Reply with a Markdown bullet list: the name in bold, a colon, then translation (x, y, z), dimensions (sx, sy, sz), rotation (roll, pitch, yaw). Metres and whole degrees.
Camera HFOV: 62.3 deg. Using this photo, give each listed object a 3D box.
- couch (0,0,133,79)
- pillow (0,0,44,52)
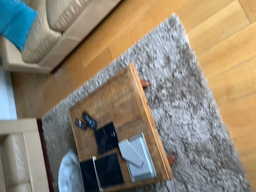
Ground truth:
- **couch**: translation (-0.640, -1.080, 1.830), dimensions (2.210, 0.820, 0.950), rotation (-30, 71, 39)
- **pillow**: translation (-1.210, -0.810, 2.150), dimensions (0.260, 0.460, 0.530), rotation (48, 158, 29)
